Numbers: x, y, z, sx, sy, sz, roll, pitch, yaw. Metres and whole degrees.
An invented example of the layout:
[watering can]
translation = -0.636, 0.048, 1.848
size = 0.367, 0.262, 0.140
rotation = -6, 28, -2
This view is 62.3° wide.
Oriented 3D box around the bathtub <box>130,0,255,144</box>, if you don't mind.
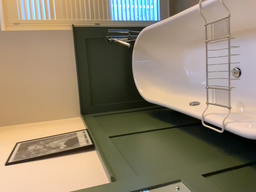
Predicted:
[bathtub]
translation = 0.620, -0.250, 1.530
size = 1.690, 0.640, 0.700
rotation = -160, 65, -70
